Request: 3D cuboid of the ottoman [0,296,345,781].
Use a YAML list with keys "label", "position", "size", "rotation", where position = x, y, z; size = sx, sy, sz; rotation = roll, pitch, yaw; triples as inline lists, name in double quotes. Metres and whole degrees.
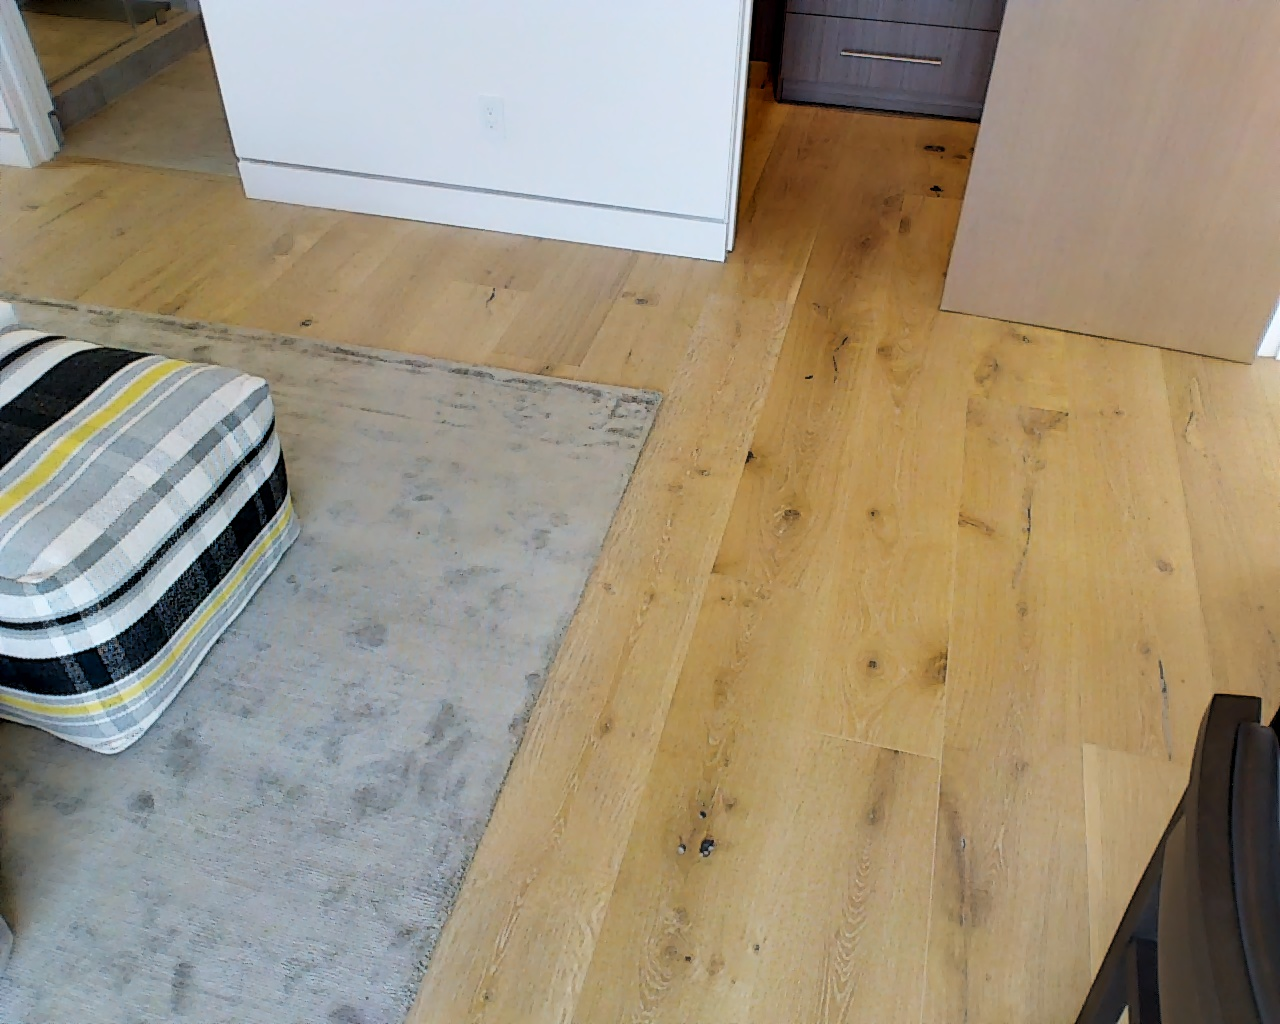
- label: "ottoman"
  position: [-1.080, 0.010, 2.020]
  size: [0.720, 0.450, 0.690]
  rotation: [10, 43, 11]
